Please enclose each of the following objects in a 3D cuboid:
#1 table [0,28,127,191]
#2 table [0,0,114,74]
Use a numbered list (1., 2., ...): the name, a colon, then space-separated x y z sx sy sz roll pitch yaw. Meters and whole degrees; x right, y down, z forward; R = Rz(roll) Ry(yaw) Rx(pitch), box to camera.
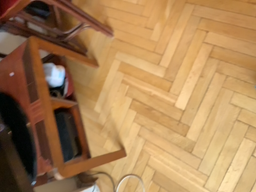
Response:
1. table: -0.440 0.110 1.290 0.470 0.580 0.710 -23 75 24
2. table: -0.590 -0.560 1.390 0.630 0.660 0.510 -23 75 24
